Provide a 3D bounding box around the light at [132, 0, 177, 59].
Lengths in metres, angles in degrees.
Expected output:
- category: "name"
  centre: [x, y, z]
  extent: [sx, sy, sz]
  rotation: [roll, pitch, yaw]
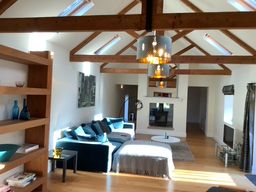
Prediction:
- category: "light"
  centre: [0.480, -1.570, 3.560]
  extent: [0.630, 1.810, 0.560]
  rotation: [3, 1, 14]
